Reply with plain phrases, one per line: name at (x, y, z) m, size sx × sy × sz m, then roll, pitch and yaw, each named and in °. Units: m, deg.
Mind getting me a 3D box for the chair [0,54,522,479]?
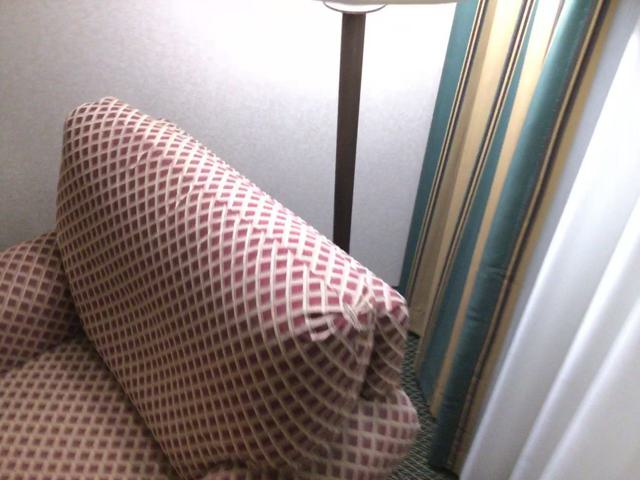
chair at (-0.430, 0.330, 1.070) m, size 0.950 × 0.850 × 0.990 m, roll -26°, pitch 47°, yaw -30°
